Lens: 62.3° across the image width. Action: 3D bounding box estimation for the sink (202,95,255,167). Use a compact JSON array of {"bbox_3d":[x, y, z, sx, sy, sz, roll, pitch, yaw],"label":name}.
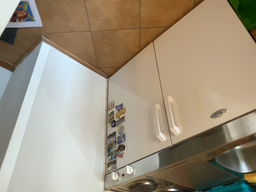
[{"bbox_3d":[0.600,0.180,1.040,0.280,0.180,0.320,29,131,-34],"label":"sink"}]
